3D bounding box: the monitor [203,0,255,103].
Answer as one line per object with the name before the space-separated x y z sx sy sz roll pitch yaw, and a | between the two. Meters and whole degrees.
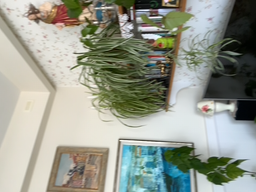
monitor | 0.920 -0.310 1.340 1.060 0.650 0.060 84 -170 -50
